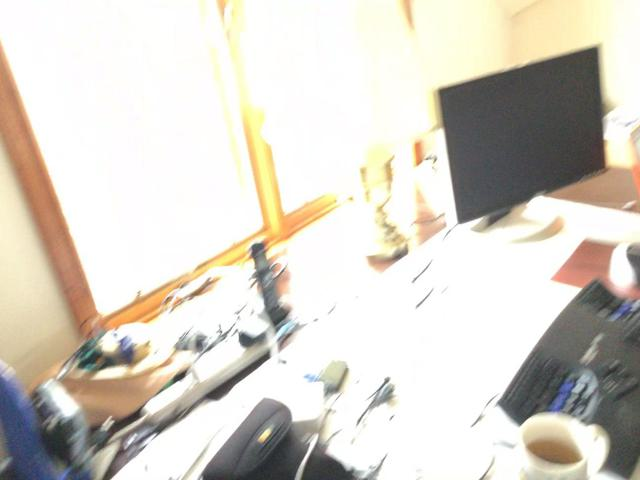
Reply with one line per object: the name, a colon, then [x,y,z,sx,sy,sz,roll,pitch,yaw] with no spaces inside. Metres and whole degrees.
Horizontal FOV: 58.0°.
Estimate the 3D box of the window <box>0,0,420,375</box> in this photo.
window: [-0.210,-0.380,1.500,0.290,0.860,1.190,18,39,38]
